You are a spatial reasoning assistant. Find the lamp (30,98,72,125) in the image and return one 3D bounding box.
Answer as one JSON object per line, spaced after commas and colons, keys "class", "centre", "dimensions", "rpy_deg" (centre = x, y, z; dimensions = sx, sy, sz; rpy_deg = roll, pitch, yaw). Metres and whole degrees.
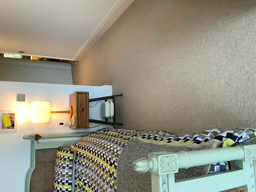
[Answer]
{"class": "lamp", "centre": [-0.910, 0.190, 2.500], "dimensions": [0.260, 0.440, 0.280], "rpy_deg": [-19, 72, 61]}
